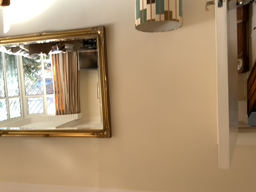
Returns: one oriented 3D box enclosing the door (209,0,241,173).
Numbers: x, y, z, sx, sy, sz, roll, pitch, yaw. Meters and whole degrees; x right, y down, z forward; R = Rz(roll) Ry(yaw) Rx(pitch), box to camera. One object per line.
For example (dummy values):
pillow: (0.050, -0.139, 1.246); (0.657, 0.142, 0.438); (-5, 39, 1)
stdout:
door: (0.600, -0.720, 1.330); (0.130, 2.120, 0.810); (-1, -175, 25)
